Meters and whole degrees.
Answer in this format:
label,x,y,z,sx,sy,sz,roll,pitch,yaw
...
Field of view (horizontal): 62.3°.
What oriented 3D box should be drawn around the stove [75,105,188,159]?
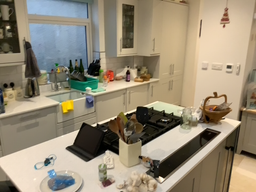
label,x,y,z,sx,sy,sz,roll,pitch,yaw
stove,0.060,0.250,1.820,0.540,0.030,0.850,15,21,41
